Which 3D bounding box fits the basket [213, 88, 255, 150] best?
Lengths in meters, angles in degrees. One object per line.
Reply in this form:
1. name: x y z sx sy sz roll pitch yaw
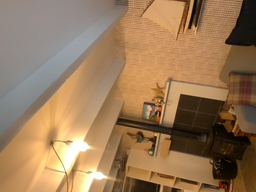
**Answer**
1. basket: 1.520 0.300 2.910 0.570 0.490 0.520 -70 -13 -53
